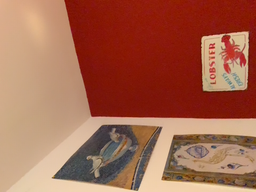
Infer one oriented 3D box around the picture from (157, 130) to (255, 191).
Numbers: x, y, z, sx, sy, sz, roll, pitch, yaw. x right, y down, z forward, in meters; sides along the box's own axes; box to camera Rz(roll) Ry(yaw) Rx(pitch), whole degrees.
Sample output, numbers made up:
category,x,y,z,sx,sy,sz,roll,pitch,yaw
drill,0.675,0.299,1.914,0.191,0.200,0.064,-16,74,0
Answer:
category,x,y,z,sx,sy,sz,roll,pitch,yaw
picture,0.410,0.280,1.010,0.420,0.460,0.030,-45,-50,-63
